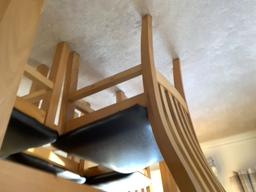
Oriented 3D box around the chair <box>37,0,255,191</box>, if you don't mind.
[{"bbox_3d":[0.080,0.230,0.730,0.570,1.060,0.460,-25,140,26],"label":"chair"}]
